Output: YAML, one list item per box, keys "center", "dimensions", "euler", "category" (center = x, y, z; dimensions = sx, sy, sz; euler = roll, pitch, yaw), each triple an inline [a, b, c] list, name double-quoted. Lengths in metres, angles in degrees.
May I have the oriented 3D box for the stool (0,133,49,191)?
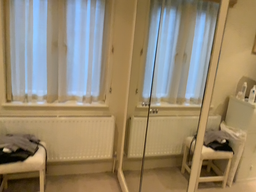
- center: [-1.000, 0.660, 1.970]
  dimensions: [0.460, 0.500, 0.380]
  euler: [2, 14, -15]
  category: "stool"
